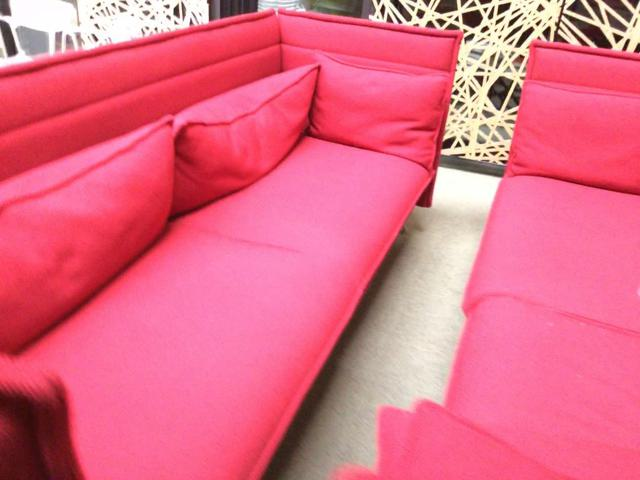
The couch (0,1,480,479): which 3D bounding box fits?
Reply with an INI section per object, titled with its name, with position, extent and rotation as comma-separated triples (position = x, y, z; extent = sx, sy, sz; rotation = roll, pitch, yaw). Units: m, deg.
[couch]
position = -0.220, -0.130, 1.760
extent = 0.930, 0.880, 2.450
rotation = 12, 29, 18
